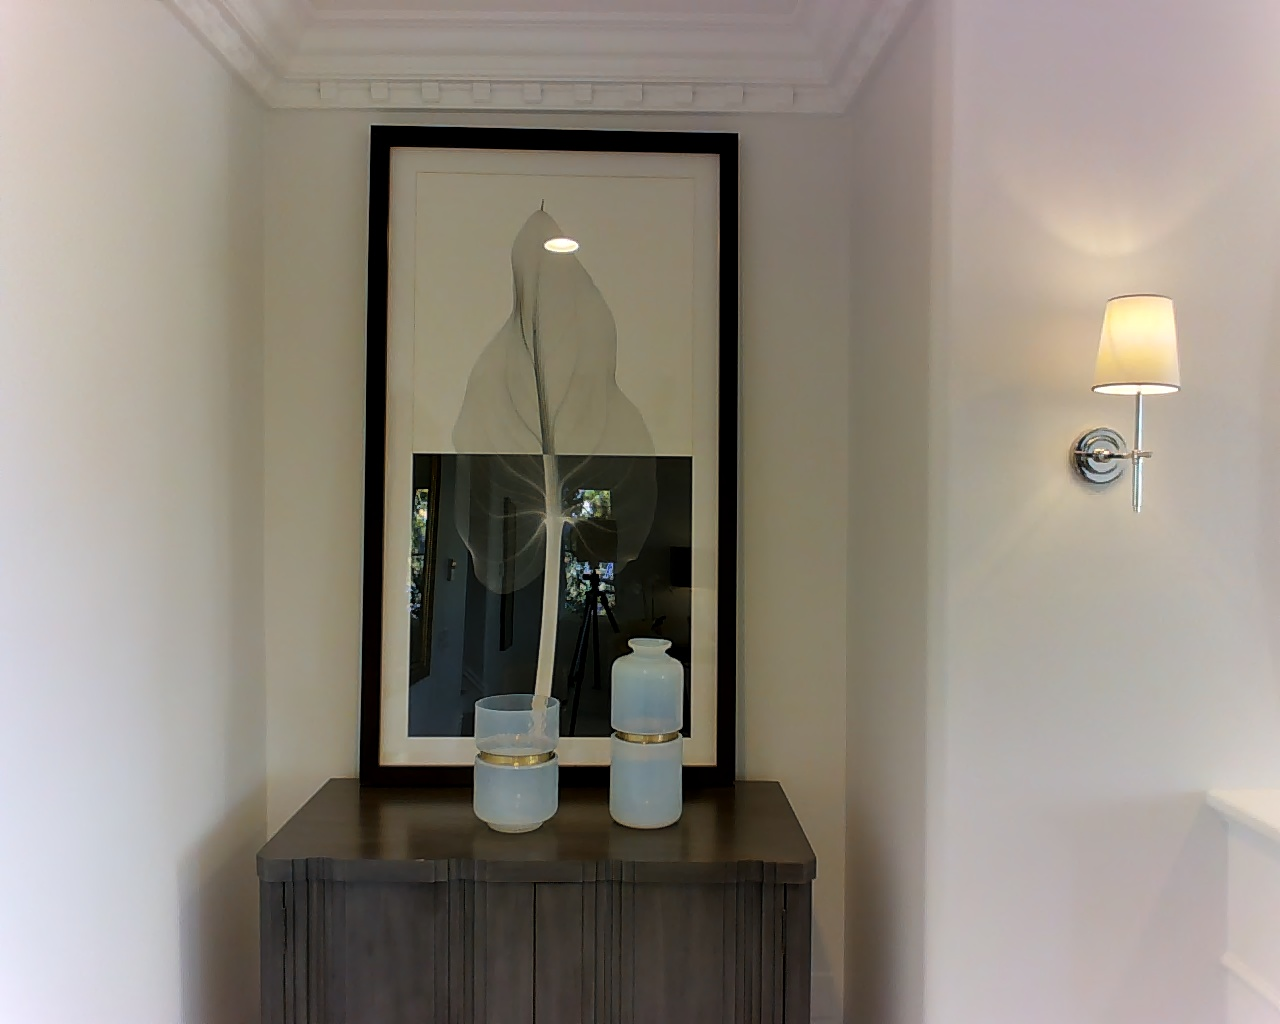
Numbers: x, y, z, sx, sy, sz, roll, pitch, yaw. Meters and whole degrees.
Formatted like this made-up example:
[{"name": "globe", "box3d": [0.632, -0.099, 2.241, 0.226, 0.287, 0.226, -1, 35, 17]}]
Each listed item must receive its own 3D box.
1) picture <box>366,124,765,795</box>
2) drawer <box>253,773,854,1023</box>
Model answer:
[{"name": "picture", "box3d": [-0.180, -0.120, 2.630, 0.950, 1.601, 0.120, 0, 1, -1]}, {"name": "drawer", "box3d": [-0.170, 1.100, 2.360, 1.170, 0.920, 0.530, 0, 1, -1]}]
